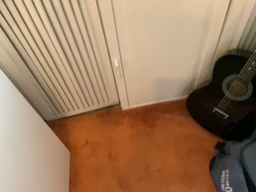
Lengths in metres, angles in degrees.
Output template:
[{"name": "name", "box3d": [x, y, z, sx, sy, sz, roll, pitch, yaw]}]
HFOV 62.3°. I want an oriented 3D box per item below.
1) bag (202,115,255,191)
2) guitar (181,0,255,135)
[{"name": "bag", "box3d": [0.680, 0.280, 1.010, 0.510, 0.280, 0.300, -9, 55, -1]}, {"name": "guitar", "box3d": [0.610, -0.170, 0.990, 0.550, 0.960, 0.220, -10, 55, -1]}]
